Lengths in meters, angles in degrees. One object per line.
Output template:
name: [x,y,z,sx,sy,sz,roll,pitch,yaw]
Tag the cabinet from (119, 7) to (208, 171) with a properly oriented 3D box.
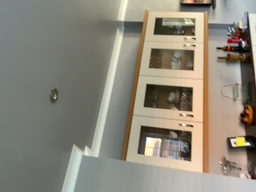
cabinet: [0.490,-0.220,2.570,0.320,0.840,2.010,74,-157,-63]
